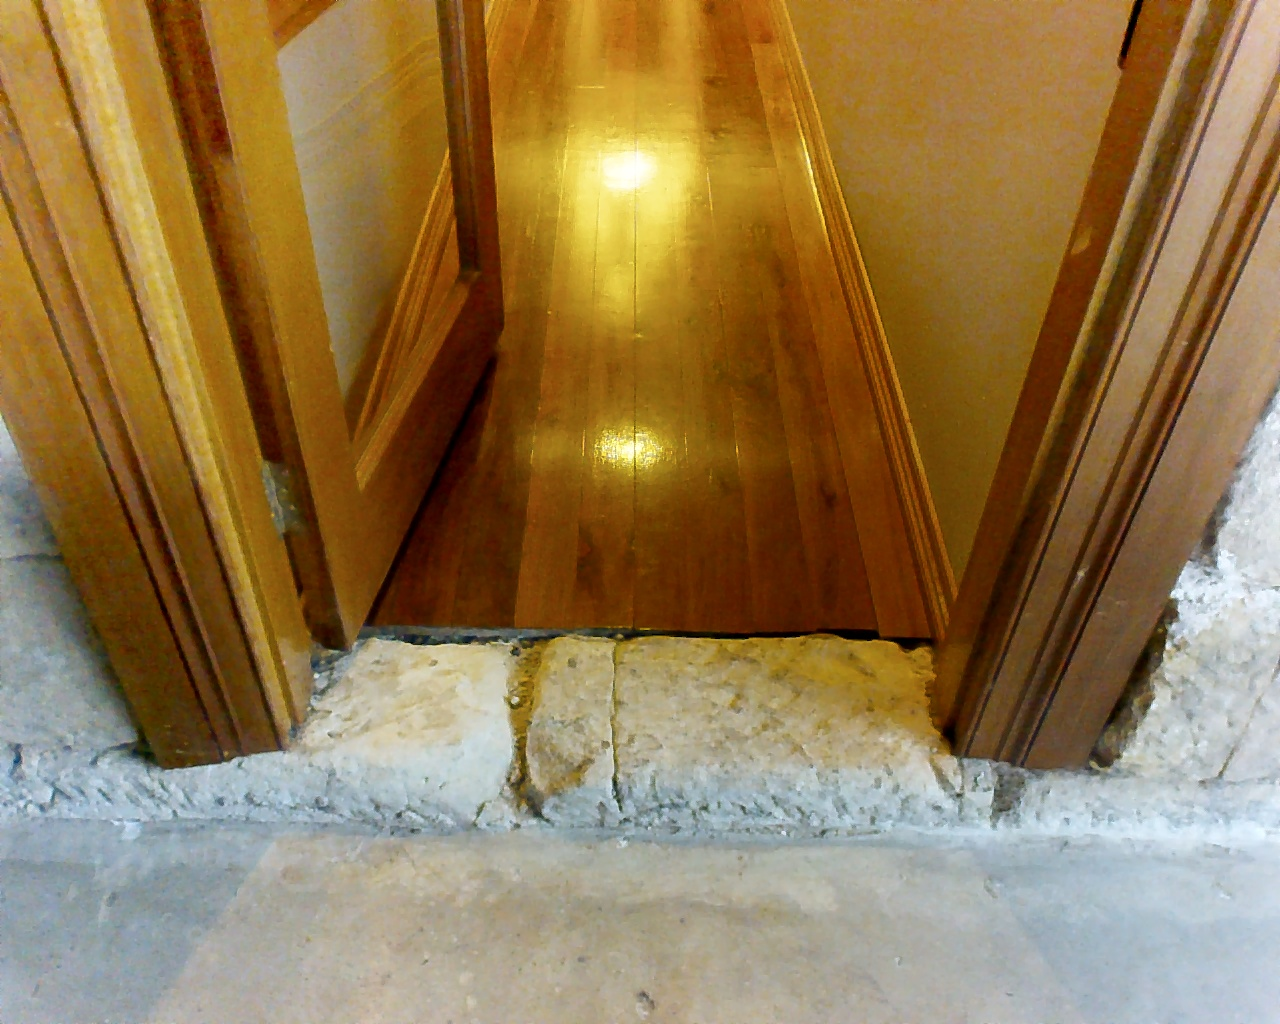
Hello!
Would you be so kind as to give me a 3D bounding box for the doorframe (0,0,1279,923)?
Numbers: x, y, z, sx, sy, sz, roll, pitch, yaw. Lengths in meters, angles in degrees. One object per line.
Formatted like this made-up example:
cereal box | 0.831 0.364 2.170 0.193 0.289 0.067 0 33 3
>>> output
doorframe | -0.020 -0.440 0.580 1.030 2.210 0.220 1 41 0
